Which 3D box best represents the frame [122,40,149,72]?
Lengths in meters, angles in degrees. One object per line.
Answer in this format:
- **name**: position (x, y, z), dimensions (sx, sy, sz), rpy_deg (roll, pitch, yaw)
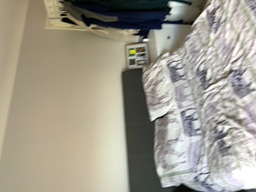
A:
- **frame**: position (0.110, -0.550, 2.930), dimensions (0.140, 0.320, 0.370), rpy_deg (110, 168, -67)
